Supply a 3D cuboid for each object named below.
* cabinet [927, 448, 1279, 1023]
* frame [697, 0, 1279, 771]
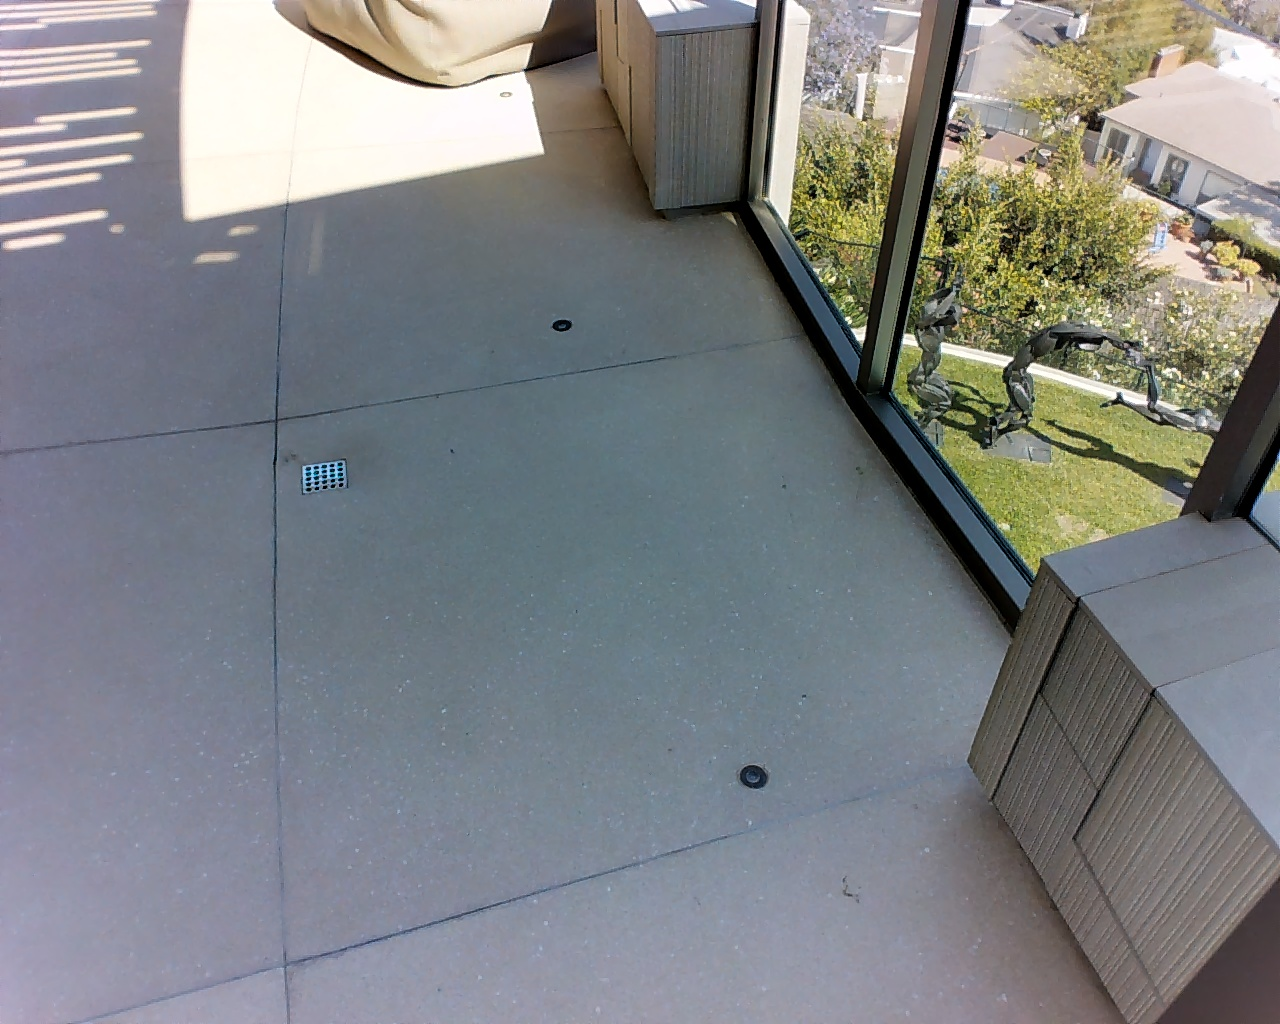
[{"bbox_3d":[0.830,0.370,1.470,0.500,0.550,0.660,-13,46,-13],"label":"cabinet"},{"bbox_3d":[0.510,-0.640,2.140,0.180,1.100,1.980,-10,45,-11],"label":"frame"}]
